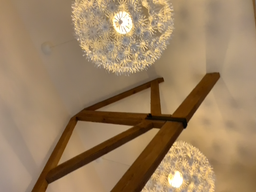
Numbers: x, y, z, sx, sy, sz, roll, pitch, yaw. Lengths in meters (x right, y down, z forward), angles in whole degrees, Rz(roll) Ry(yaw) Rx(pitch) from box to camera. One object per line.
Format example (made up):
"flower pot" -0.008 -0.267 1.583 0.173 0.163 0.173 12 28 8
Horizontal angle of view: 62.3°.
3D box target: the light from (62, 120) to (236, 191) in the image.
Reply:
"light" 0.230 1.020 3.080 2.110 1.100 0.900 -1 -113 41

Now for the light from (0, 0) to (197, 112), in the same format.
"light" -0.480 -0.710 2.320 2.030 0.940 0.910 -19 -162 -6
